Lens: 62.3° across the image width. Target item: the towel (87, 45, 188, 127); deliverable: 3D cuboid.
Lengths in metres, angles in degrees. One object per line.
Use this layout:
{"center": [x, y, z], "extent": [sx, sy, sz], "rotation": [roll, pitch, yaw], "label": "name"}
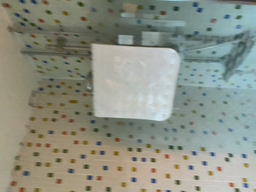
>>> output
{"center": [0.030, -0.030, 0.980], "extent": [0.050, 0.410, 0.380], "rotation": [-88, 1, -58], "label": "towel"}
